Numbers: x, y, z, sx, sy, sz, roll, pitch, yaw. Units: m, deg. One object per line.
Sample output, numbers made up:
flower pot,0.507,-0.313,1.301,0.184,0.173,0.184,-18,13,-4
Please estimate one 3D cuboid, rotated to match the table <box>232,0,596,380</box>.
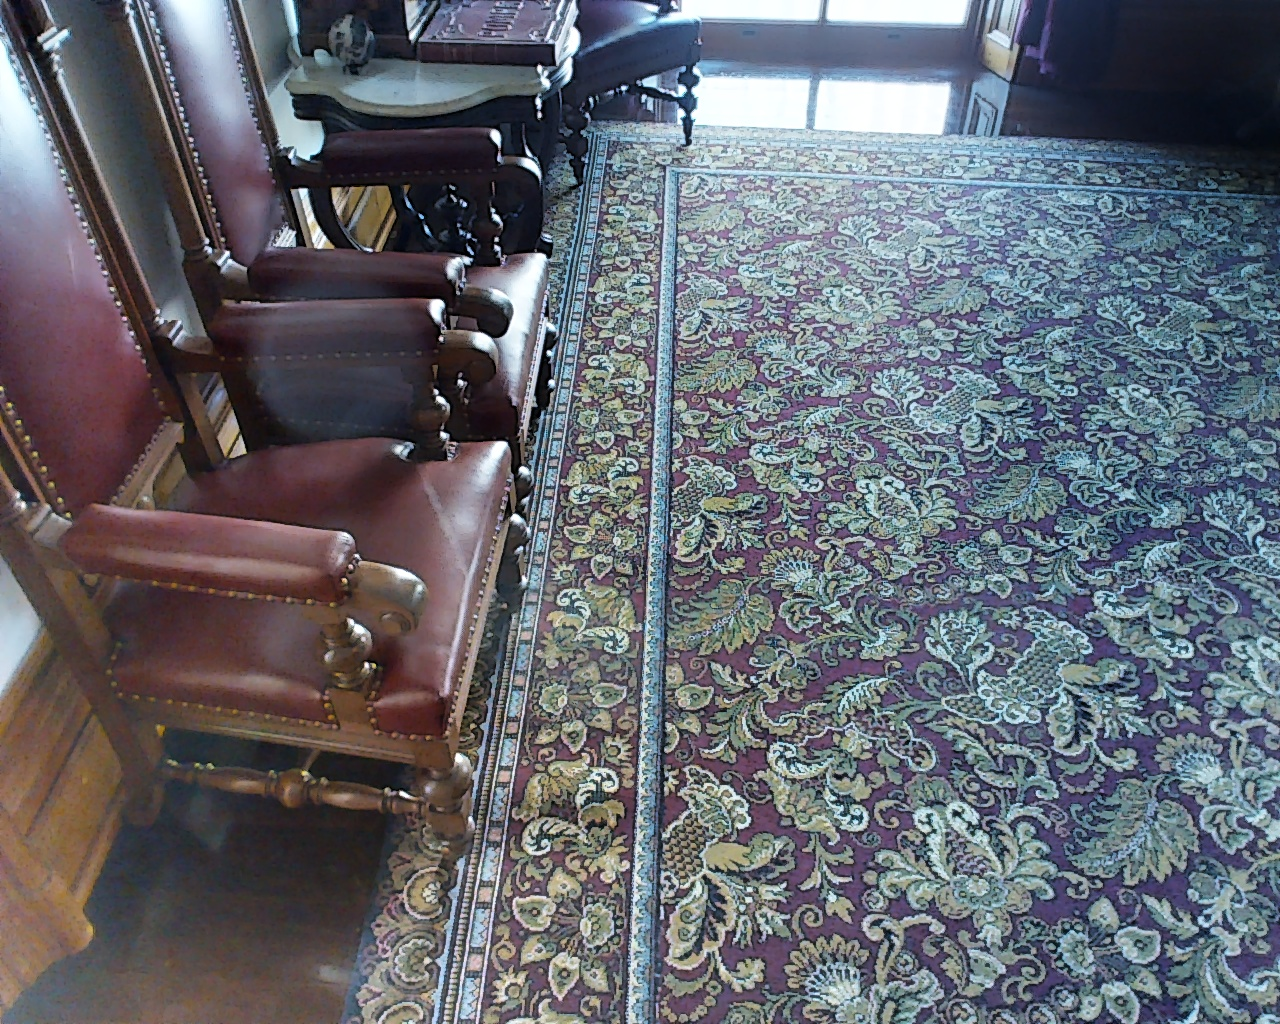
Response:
table,-0.490,-0.910,2.790,0.680,0.690,0.940,2,42,1
